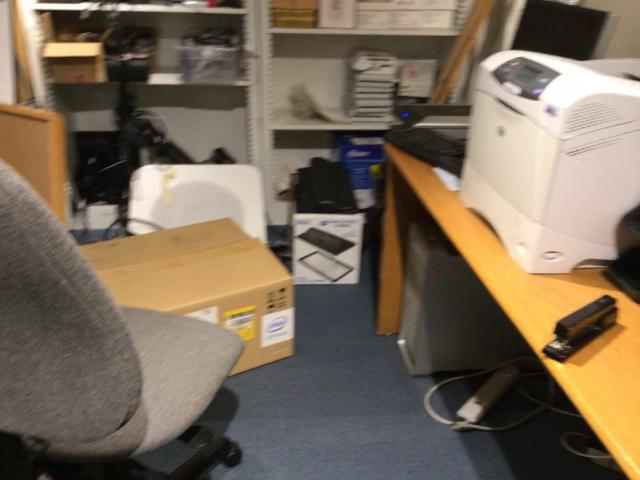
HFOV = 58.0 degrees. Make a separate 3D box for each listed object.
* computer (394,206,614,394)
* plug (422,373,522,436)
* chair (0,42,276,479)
[{"bbox_3d":[0.570,0.190,1.920,0.550,0.510,0.320,-1,25,-6],"label":"computer"},{"bbox_3d":[0.470,0.510,1.810,0.240,0.050,0.190,-5,25,-13],"label":"plug"},{"bbox_3d":[-0.420,0.260,1.080,0.550,1.120,0.650,4,25,5],"label":"chair"}]
